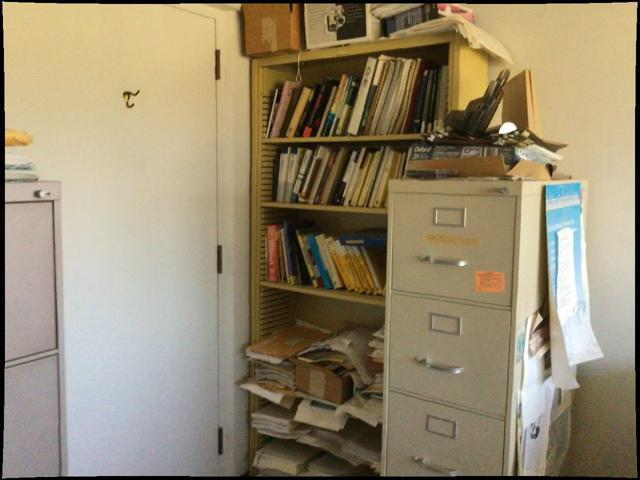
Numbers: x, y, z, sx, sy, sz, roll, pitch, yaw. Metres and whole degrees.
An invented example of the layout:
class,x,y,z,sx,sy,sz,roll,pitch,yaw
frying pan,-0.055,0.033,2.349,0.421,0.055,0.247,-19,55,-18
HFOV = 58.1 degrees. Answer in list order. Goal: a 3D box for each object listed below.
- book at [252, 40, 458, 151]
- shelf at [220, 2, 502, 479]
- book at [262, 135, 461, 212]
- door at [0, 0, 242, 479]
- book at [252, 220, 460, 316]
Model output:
class,x,y,z,sx,sy,sz,roll,pitch,yaw
book,0.120,-0.561,2.370,0.819,0.361,0.260,5,7,33
shelf,0.120,0.170,2.400,1.048,1.975,0.430,5,7,33
book,0.150,-0.281,2.440,0.838,0.281,0.210,5,7,33
door,-0.728,0.140,2.130,0.150,2.246,1.149,5,7,33
book,0.130,0.090,2.460,0.858,0.301,0.270,5,7,33
